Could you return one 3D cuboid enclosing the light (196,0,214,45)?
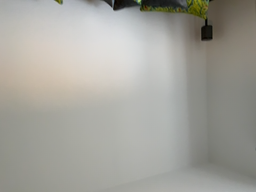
[{"bbox_3d":[0.920,-1.200,2.560,0.190,1.110,0.170,-1,-177,15],"label":"light"}]
